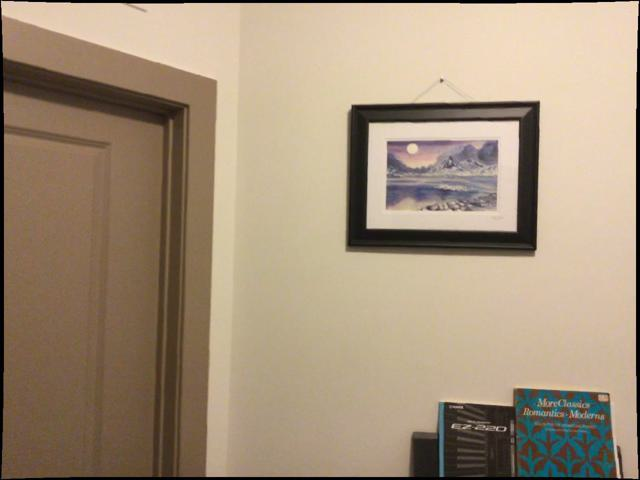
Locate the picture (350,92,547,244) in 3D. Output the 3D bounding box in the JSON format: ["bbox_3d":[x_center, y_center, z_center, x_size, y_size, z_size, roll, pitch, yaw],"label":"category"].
[{"bbox_3d":[0.329,-0.180,1.520,0.499,0.381,0.050,0,0,12],"label":"picture"}]

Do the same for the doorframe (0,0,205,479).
[{"bbox_3d":[-0.738,0.551,1.200,1.059,2.205,0.160,0,0,-44],"label":"doorframe"}]
